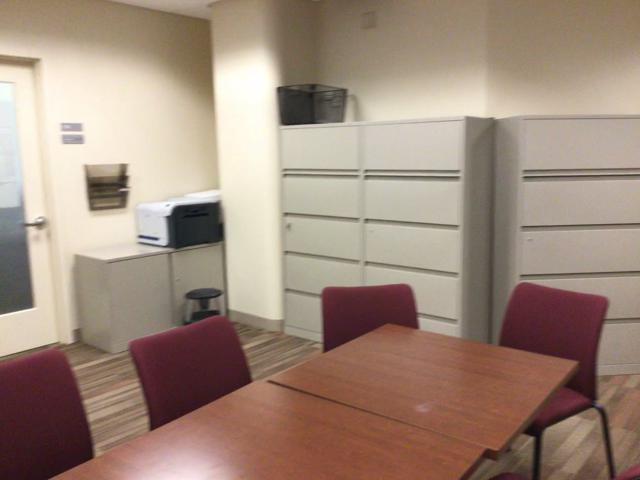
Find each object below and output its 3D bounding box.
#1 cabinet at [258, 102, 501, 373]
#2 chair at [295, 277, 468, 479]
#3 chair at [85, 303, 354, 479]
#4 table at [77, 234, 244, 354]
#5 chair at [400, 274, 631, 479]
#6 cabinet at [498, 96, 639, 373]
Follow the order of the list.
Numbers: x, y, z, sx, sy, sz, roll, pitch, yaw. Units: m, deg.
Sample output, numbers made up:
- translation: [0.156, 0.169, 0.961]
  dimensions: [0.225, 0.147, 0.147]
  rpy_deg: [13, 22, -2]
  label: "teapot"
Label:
- translation: [0.340, -0.060, 4.060]
  dimensions: [1.770, 1.550, 0.440]
  rpy_deg: [4, 8, 43]
  label: "cabinet"
- translation: [0.220, 0.690, 2.380]
  dimensions: [0.590, 0.960, 0.610]
  rpy_deg: [-2, 6, -4]
  label: "chair"
- translation: [-0.320, 0.750, 1.900]
  dimensions: [0.660, 0.920, 0.550]
  rpy_deg: [4, 8, 44]
  label: "chair"
- translation: [-1.250, 0.370, 4.610]
  dimensions: [0.720, 0.720, 1.020]
  rpy_deg: [4, 8, 44]
  label: "table"
- translation: [0.770, 0.620, 2.230]
  dimensions: [0.560, 0.830, 0.760]
  rpy_deg: [4, 8, 43]
  label: "chair"
- translation: [1.620, -0.030, 3.340]
  dimensions: [1.120, 1.510, 0.340]
  rpy_deg: [0, 6, 14]
  label: "cabinet"
